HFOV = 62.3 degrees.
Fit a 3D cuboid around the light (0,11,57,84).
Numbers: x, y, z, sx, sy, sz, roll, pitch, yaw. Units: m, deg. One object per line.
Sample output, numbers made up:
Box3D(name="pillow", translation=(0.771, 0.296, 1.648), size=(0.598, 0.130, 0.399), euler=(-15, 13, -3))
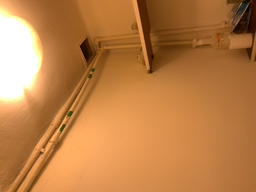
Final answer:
Box3D(name="light", translation=(-0.430, -0.180, 0.830), size=(0.290, 0.250, 0.110), euler=(0, -3, -19))
